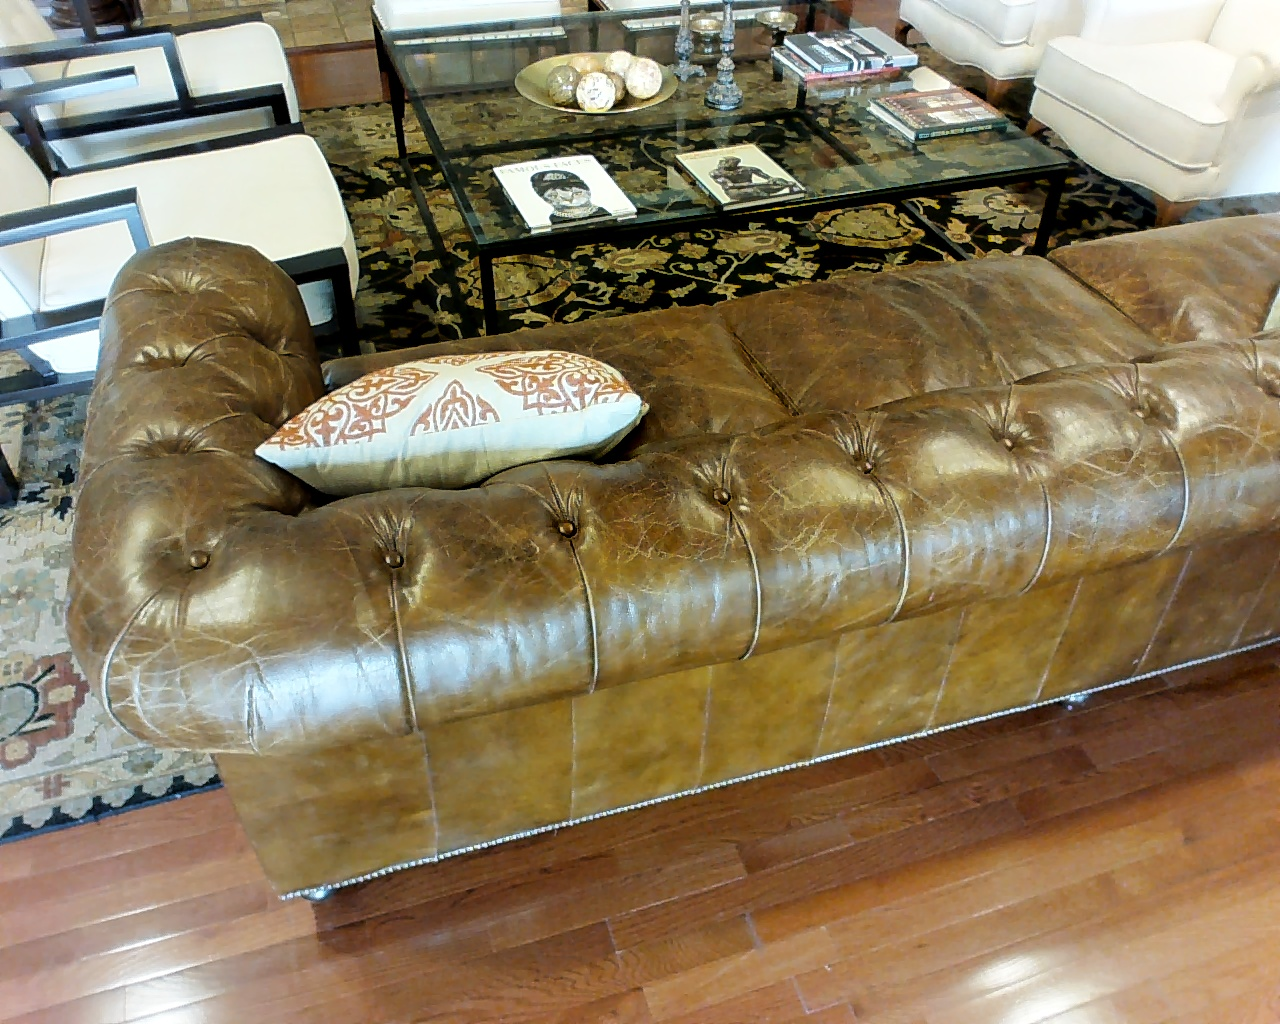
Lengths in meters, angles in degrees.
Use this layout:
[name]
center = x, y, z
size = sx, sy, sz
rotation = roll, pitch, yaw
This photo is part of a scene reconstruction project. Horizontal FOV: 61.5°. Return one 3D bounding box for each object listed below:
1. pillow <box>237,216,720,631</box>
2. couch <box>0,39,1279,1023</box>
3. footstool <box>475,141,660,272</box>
[pillow]
center = -0.230, -0.150, 1.550
size = 0.570, 0.310, 0.480
rotation = -7, 42, -9
[couch]
center = 0.670, -0.180, 1.980
size = 3.020, 0.820, 1.080
rotation = -12, 43, -14
[footstool]
center = -0.180, -0.740, 2.570
size = 0.340, 0.100, 0.400
rotation = -12, 43, -14
